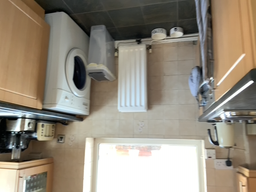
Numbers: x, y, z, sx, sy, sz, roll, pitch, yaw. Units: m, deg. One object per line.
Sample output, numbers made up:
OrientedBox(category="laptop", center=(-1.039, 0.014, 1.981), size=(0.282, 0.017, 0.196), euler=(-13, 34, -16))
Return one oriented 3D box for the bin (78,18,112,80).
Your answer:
OrientedBox(category="bin", center=(-0.330, -0.460, 2.210), size=(0.210, 0.500, 0.420), euler=(-1, 170, 9))
